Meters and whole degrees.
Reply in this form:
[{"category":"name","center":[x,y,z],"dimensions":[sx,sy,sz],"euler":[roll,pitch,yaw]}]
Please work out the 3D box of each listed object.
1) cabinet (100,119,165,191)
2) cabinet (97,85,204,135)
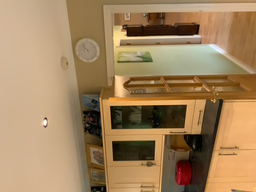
[{"category":"cabinet","center":[0.060,1.210,3.130],"dimensions":[0.350,0.790,1.800],"euler":[-92,1,-64]},{"category":"cabinet","center":[0.250,0.170,2.630],"dimensions":[0.340,1.190,0.500],"euler":[-92,1,-64]}]
